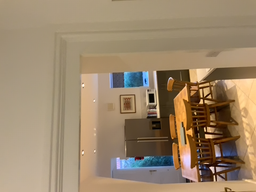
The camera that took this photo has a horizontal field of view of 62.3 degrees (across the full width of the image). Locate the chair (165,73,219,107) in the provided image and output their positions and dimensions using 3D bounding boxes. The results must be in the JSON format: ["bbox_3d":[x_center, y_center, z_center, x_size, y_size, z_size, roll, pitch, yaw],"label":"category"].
[{"bbox_3d":[1.220,-0.100,4.170,0.500,0.860,0.550,99,168,-79],"label":"chair"}]

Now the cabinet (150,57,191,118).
[{"bbox_3d":[1.160,-0.230,6.050,0.580,0.910,1.590,92,175,-77],"label":"cabinet"}]

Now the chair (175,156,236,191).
[{"bbox_3d":[1.300,1.380,3.650,0.460,0.860,0.550,87,180,-84],"label":"chair"}]
